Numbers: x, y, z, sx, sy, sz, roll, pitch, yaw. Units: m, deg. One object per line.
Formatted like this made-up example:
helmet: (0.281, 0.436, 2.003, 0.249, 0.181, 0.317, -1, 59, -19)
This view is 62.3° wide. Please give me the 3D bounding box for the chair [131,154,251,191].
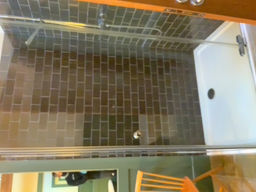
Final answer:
chair: (0.490, 0.850, 1.810, 0.510, 0.790, 0.450, -119, 33, -64)
